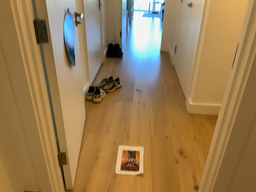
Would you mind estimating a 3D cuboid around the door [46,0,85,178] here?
[{"bbox_3d":[-0.400,-0.520,1.390,0.030,2.020,0.870,-2,28,-6],"label":"door"}]
